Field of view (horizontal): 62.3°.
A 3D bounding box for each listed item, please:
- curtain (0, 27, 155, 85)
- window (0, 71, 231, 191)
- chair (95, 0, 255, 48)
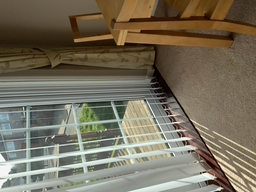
[{"bbox_3d":[-0.870,-0.350,1.840,0.420,2.250,0.290,-115,31,-41],"label":"curtain"},{"bbox_3d":[-0.420,0.630,1.120,2.340,2.220,0.160,-115,31,-42],"label":"window"},{"bbox_3d":[0.300,-0.550,0.950,0.370,0.850,0.590,109,149,-42],"label":"chair"}]
